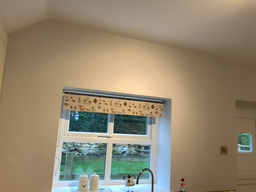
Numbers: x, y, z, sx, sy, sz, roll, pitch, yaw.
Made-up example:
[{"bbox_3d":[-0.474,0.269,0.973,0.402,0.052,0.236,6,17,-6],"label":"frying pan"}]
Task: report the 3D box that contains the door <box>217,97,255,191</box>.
[{"bbox_3d":[1.570,1.070,2.940,0.790,2.060,0.030,5,-8,-19],"label":"door"}]
